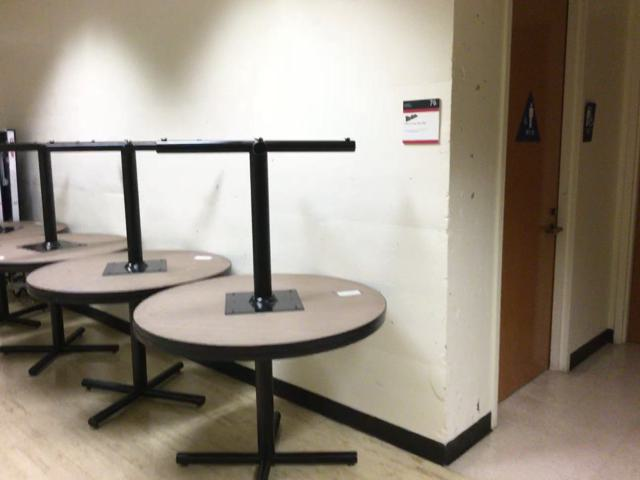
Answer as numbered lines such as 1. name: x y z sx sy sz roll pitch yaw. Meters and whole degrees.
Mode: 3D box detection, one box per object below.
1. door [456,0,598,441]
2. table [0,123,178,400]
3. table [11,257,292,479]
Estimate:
1. door: 1.080 -0.180 2.960 0.210 2.110 1.030 6 10 44
2. table: -1.890 0.020 3.970 1.620 1.480 1.010 6 10 44
3. table: -0.880 0.570 3.090 1.100 0.740 0.940 -8 10 -43
